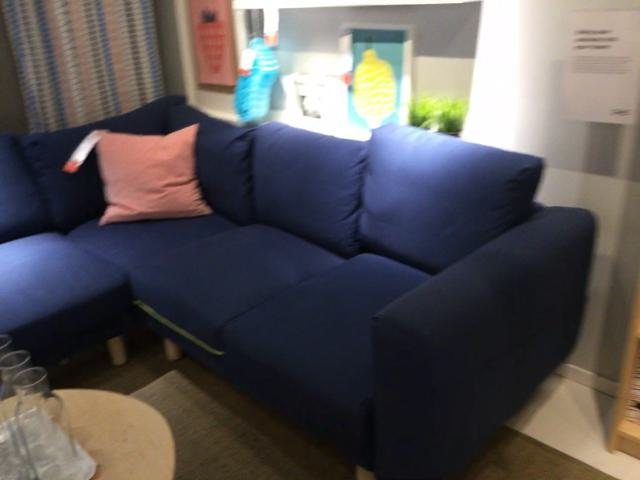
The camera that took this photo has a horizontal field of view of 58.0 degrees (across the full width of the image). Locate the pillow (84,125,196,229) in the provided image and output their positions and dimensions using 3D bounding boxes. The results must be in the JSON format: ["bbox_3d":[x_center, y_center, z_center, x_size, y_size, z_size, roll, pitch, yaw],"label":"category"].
[{"bbox_3d":[-0.770,-0.290,2.550,0.380,0.360,0.350,-5,20,-8],"label":"pillow"}]
